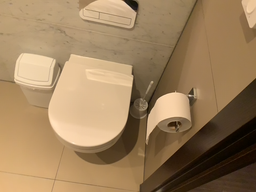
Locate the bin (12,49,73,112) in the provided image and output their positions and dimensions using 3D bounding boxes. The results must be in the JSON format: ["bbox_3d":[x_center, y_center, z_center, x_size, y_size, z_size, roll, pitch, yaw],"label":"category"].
[{"bbox_3d":[-0.510,-0.080,1.340,0.270,0.370,0.160,10,57,-4],"label":"bin"}]

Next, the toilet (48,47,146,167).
[{"bbox_3d":[-0.150,0.070,1.240,0.420,0.360,0.540,9,57,-5],"label":"toilet"}]
